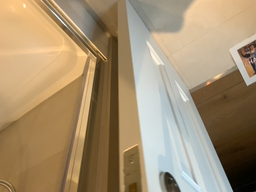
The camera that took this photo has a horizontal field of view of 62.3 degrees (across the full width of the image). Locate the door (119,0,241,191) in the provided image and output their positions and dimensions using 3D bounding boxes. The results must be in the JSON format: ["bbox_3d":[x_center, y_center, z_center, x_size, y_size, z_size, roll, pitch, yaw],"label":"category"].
[{"bbox_3d":[0.240,0.440,0.280,0.030,2.080,0.720,-30,125,19],"label":"door"}]
